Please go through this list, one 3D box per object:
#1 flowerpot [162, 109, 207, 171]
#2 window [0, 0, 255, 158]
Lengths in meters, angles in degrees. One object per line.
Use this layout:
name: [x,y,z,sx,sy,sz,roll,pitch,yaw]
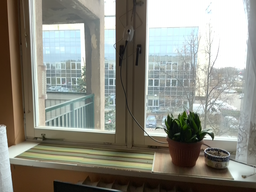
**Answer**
flowerpot: [0.340,0.260,1.330,0.240,0.310,0.220,2,8,10]
window: [0.030,-0.340,1.460,1.860,1.420,0.150,2,8,8]
